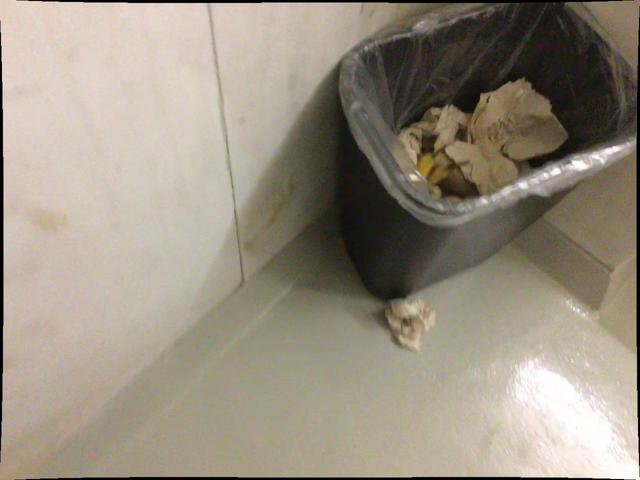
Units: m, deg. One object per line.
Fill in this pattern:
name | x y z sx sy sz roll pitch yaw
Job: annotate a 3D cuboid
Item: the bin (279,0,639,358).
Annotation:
bin | 0.210 -0.110 0.970 0.440 0.460 0.360 -17 64 -16
